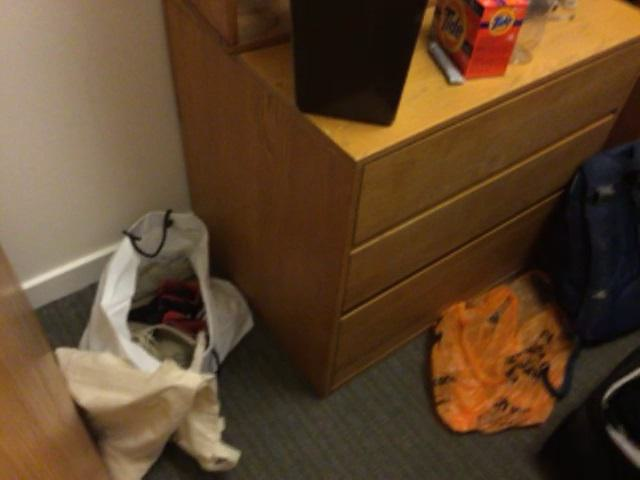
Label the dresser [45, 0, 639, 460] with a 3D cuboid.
[{"bbox_3d":[0.090,-0.230,1.330,0.990,0.930,0.670,-28,53,-22],"label":"dresser"}]
